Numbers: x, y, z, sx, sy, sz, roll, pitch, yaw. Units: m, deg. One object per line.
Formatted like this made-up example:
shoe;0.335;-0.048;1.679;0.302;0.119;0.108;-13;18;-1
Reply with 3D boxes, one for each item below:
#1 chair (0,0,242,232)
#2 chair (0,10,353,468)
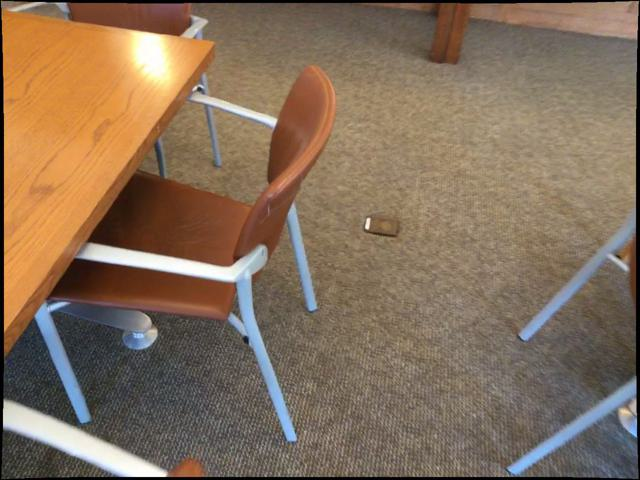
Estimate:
chair;-0.599;-0.521;1.840;0.499;0.801;0.470;12;47;10
chair;-0.239;0.020;1.370;0.509;0.831;0.621;8;46;6
